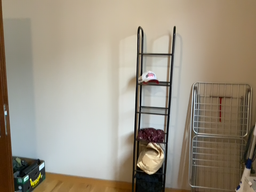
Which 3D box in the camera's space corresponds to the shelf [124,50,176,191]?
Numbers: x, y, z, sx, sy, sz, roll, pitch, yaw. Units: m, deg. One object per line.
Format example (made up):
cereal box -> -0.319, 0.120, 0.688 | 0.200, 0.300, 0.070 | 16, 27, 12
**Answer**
shelf -> 0.210, 0.340, 2.130 | 0.400, 1.550, 0.300 | 4, 11, 9
